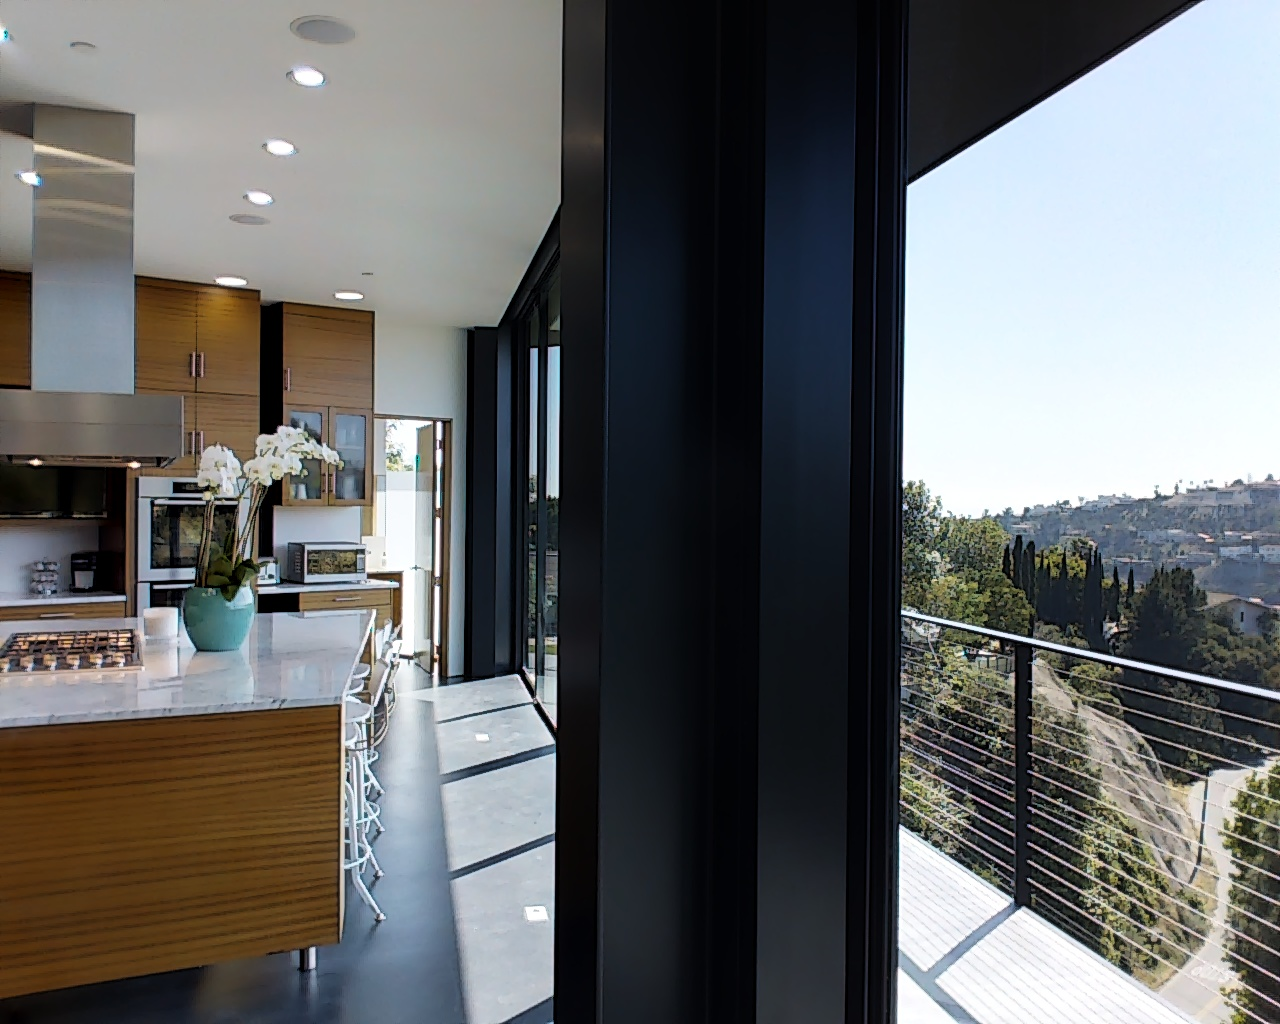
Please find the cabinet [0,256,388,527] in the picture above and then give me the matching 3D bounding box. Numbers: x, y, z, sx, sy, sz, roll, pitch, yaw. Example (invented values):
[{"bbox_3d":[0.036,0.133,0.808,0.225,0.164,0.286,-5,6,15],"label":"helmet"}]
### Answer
[{"bbox_3d":[-3.960,-0.770,7.380,4.580,1.720,0.670,0,1,-42],"label":"cabinet"}]
